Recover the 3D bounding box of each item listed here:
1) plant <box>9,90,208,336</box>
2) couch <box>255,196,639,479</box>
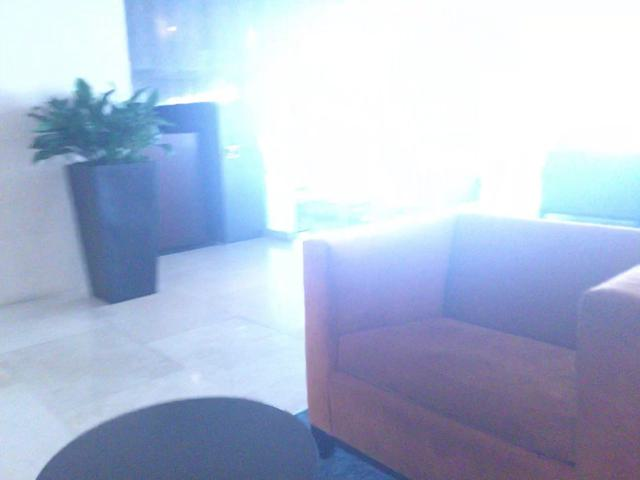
[{"bbox_3d":[-1.270,-0.210,3.520,0.770,1.280,0.690,-14,14,-39],"label":"plant"},{"bbox_3d":[0.510,0.320,1.870,0.890,0.780,1.070,-15,15,-42],"label":"couch"}]
